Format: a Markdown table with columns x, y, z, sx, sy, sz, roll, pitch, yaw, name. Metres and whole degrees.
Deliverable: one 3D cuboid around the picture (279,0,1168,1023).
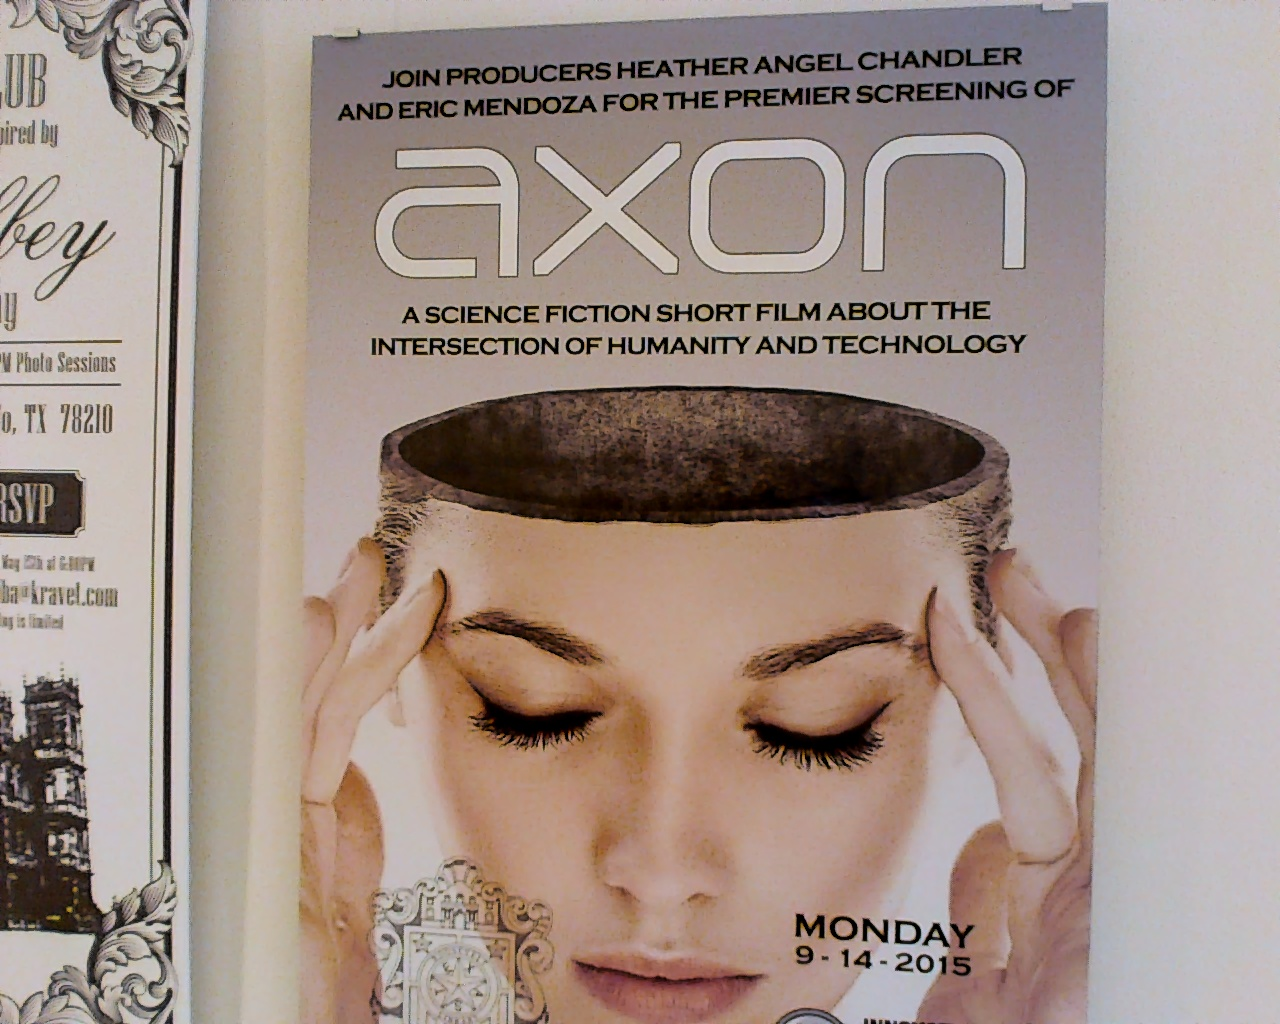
| x | y | z | sx | sy | sz | roll | pitch | yaw | name |
| --- | --- | --- | --- | --- | --- | --- | --- | --- | --- |
| 0.040 | 0.070 | 0.700 | 0.560 | 0.800 | 0.030 | 1 | 0 | 7 | picture |
